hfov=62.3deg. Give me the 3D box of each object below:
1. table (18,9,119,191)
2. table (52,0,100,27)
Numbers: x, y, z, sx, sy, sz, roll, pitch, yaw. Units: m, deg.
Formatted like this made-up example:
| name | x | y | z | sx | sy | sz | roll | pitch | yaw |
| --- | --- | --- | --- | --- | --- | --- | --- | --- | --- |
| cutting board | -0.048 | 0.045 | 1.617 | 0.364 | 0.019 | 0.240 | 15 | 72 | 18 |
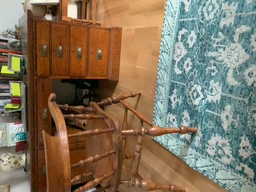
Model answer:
| name | x | y | z | sx | sy | sz | roll | pitch | yaw |
| --- | --- | --- | --- | --- | --- | --- | --- | --- | --- |
| table | -0.680 | 0.050 | 2.200 | 0.930 | 0.730 | 1.570 | 23 | 112 | 58 |
| table | -0.570 | -1.010 | 2.290 | 0.440 | 0.380 | 0.440 | 22 | 111 | 57 |
